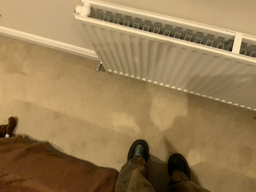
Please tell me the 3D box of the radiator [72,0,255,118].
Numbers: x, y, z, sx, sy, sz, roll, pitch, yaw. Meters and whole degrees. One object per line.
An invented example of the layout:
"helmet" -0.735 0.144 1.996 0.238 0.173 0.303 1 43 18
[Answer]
"radiator" 0.330 -0.090 0.910 0.990 0.630 0.080 18 81 7
